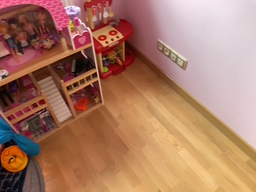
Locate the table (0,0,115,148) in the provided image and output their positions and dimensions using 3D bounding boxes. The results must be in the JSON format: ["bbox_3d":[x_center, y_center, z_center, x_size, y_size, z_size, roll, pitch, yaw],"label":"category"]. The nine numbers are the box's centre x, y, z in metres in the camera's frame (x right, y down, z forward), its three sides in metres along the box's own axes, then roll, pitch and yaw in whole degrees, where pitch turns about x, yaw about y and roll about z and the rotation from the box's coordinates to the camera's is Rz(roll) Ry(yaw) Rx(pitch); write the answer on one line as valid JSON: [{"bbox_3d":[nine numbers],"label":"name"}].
[{"bbox_3d":[-0.510,-0.220,1.290,0.710,0.870,0.400,-30,58,-22],"label":"table"}]

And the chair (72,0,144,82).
[{"bbox_3d":[-0.140,-0.480,1.710,0.410,0.560,0.290,-30,58,-22],"label":"chair"}]
